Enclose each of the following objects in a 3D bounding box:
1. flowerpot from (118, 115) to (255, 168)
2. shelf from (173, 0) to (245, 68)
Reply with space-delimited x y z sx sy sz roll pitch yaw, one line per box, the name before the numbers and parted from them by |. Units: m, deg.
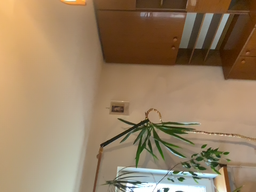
flowerpot | 0.880 0.500 2.260 0.340 1.920 0.400 86 -172 -64
shelf | 1.020 -0.830 2.890 0.930 0.650 0.340 87 -174 -57
